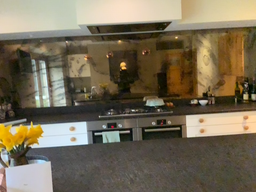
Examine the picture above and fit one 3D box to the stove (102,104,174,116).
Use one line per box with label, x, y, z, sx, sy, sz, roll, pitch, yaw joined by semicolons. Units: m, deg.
stove;0.120;0.180;2.790;0.870;0.040;0.480;-3;6;0
